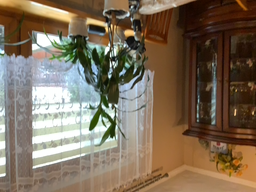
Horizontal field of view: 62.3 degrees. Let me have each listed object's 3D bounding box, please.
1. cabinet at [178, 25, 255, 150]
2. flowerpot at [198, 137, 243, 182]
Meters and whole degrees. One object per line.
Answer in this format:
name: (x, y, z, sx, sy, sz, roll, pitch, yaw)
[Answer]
cabinet: (1.210, -0.100, 2.540, 1.000, 1.240, 0.590, 3, -177, 42)
flowerpot: (1.170, 0.780, 2.690, 0.380, 0.390, 0.390, -1, -177, -42)
